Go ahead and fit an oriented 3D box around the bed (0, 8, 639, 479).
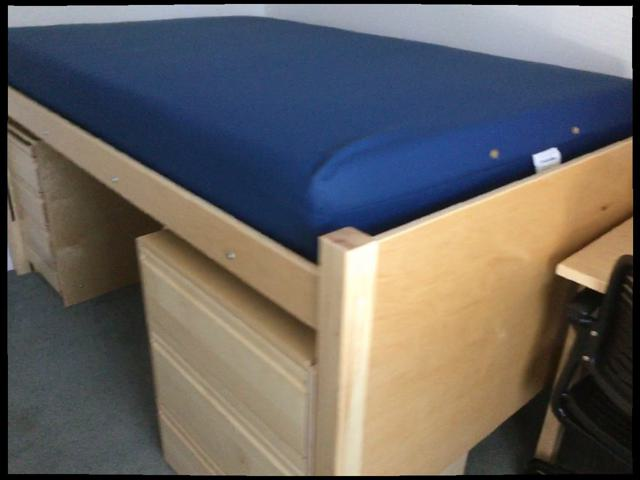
[{"bbox_3d":[-0.140,-0.170,2.200,1.549,1.082,2.289,-21,35,-37],"label":"bed"}]
